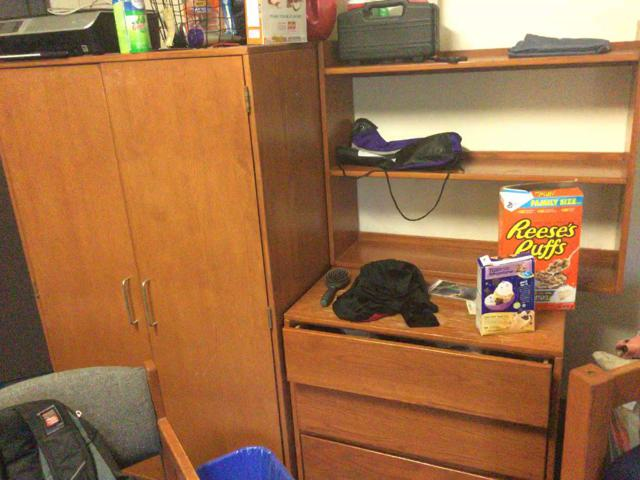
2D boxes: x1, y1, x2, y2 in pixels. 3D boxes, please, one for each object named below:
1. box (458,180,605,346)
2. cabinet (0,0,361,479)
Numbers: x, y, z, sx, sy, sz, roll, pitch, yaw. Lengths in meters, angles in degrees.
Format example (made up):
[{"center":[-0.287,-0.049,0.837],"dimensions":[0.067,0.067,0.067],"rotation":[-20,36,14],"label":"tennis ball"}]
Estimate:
[{"center":[0.550,0.050,1.530],"dimensions":[0.300,0.360,0.180],"rotation":[-9,18,-19],"label":"box"},{"center":[-0.420,0.000,2.040],"dimensions":[0.930,1.720,0.640],"rotation":[4,18,21],"label":"cabinet"}]
